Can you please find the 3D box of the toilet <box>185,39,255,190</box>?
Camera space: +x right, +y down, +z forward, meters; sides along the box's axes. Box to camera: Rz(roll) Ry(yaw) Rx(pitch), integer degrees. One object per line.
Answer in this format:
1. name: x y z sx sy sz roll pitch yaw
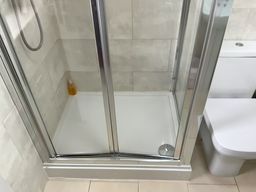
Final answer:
1. toilet: 0.690 0.130 1.390 0.410 0.790 0.590 2 40 3
